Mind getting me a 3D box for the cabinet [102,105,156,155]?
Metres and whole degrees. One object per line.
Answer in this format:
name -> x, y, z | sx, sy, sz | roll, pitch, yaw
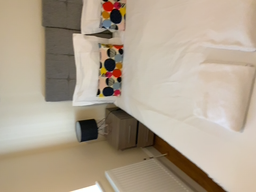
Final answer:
cabinet -> 0.000, 0.410, 2.750 | 0.420, 0.530, 0.440 | 30, 119, 57
